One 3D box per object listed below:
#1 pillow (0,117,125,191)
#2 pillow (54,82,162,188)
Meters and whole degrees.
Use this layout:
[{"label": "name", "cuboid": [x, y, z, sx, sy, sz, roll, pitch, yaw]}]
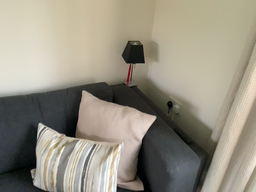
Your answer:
[{"label": "pillow", "cuboid": [-0.320, 0.360, 1.100, 0.570, 0.330, 0.170, 21, 58, 9]}, {"label": "pillow", "cuboid": [-0.120, 0.230, 1.310, 0.520, 0.380, 0.290, 24, 49, 18]}]
